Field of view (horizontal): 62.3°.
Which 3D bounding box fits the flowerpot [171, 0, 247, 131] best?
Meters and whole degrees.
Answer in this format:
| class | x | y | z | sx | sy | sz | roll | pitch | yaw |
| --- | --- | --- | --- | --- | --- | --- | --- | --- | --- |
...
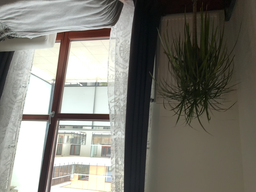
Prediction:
| class | x | y | z | sx | sy | sz | roll | pitch | yaw |
| --- | --- | --- | --- | --- | --- | --- | --- | --- | --- |
| flowerpot | 0.590 | -0.350 | 1.760 | 0.440 | 1.200 | 0.600 | 0 | 166 | 10 |
